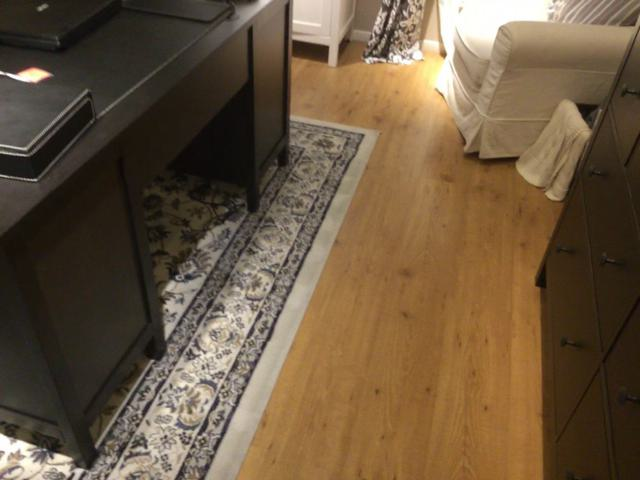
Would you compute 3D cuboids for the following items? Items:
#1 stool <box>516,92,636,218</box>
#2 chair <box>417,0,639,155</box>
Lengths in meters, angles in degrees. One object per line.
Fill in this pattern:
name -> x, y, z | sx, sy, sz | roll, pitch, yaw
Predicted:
stool -> 0.960, -0.330, 2.210 | 0.320, 0.300, 0.310 | 14, 42, 10
chair -> 0.990, -0.900, 2.390 | 0.890, 0.840, 0.700 | -1, 41, -7
